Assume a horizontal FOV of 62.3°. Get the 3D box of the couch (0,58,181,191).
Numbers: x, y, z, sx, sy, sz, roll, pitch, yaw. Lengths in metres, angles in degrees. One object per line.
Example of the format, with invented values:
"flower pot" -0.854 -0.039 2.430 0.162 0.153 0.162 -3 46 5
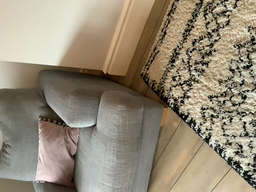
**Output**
"couch" -0.450 0.380 1.540 1.120 0.870 1.060 26 110 50
